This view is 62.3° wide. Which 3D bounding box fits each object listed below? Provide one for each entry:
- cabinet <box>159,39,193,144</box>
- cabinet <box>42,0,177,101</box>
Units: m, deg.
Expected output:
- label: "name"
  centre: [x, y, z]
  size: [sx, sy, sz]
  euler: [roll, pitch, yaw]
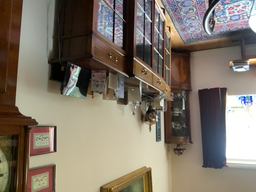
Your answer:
- label: "cabinet"
  centre: [0.890, -0.060, 3.930]
  size: [0.490, 1.810, 0.490]
  euler: [-3, 171, 24]
- label: "cabinet"
  centre: [0.100, -0.630, 2.290]
  size: [0.370, 1.120, 2.180]
  euler: [-3, 171, 25]
